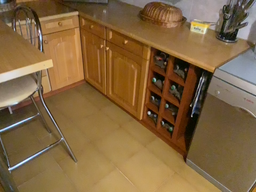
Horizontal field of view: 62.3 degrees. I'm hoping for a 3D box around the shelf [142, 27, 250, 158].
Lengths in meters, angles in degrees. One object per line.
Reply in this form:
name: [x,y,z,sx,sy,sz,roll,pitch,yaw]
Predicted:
shelf: [0.510,-0.040,1.760,0.550,0.840,0.450,-26,46,-35]
